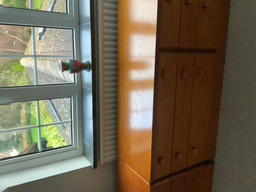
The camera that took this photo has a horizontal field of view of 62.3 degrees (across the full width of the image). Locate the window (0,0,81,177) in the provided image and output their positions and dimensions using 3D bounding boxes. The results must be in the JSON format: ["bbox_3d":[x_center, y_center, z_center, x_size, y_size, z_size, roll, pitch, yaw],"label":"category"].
[{"bbox_3d":[-0.750,-0.220,1.520,0.100,0.770,1.570,18,110,56],"label":"window"}]
